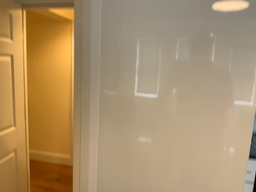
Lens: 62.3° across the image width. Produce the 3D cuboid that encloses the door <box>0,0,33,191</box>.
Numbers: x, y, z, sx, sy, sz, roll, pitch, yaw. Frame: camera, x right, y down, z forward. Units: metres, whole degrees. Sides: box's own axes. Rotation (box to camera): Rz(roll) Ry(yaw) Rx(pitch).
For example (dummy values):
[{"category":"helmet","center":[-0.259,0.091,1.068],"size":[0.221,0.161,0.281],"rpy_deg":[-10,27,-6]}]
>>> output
[{"category":"door","center":[-1.000,0.280,1.530],"size":[0.040,1.970,0.920],"rpy_deg":[5,9,9]}]
